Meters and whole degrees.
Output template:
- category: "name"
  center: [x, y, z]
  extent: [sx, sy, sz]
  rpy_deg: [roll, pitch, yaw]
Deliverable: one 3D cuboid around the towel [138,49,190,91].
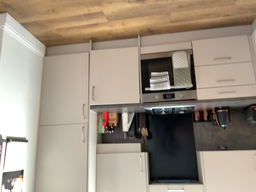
- category: "towel"
  center: [0.390, -0.290, 2.380]
  extent: [0.530, 0.410, 0.130]
  rpy_deg: [-3, 167, 6]
